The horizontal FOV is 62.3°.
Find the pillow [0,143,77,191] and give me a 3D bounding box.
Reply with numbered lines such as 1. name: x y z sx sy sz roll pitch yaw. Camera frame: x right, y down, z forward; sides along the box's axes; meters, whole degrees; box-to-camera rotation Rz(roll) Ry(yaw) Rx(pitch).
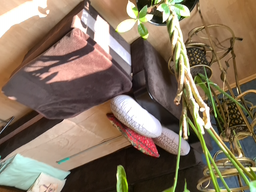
1. pillow: -1.070 0.930 2.440 0.430 0.400 0.810 -28 135 28

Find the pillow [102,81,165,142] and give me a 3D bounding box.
1. pillow: 0.040 0.120 1.380 0.200 0.310 0.330 -24 157 28
